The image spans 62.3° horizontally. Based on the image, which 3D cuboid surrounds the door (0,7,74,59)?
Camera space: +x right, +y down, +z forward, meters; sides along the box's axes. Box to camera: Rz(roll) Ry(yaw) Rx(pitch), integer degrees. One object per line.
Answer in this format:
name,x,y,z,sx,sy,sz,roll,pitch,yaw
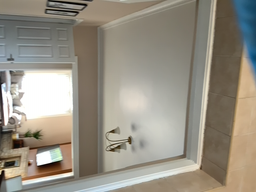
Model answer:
door,-2.060,-1.140,3.840,0.070,2.060,0.910,159,-74,-66
